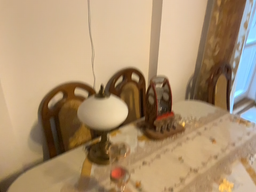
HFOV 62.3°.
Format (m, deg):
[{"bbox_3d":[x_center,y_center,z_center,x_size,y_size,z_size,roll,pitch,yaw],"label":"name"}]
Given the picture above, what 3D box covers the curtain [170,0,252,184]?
[{"bbox_3d":[0.720,-0.510,1.730,0.430,2.850,0.250,-18,31,-35],"label":"curtain"}]
